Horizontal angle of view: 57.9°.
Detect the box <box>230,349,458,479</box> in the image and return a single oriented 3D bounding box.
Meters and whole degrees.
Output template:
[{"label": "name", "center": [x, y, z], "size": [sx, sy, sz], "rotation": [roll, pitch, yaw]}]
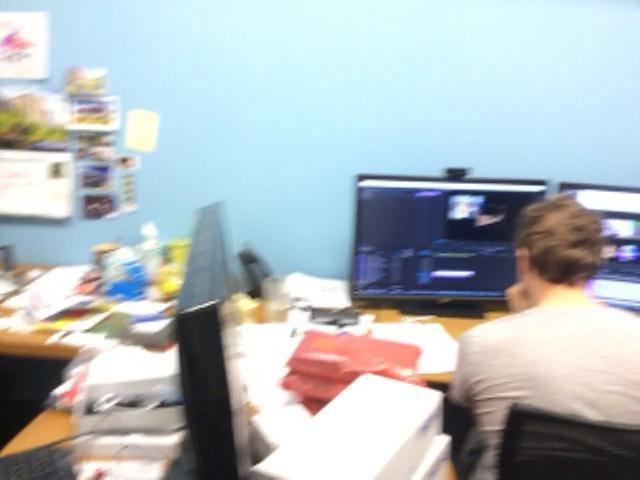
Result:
[{"label": "box", "center": [0.060, 0.380, 0.990], "size": [0.230, 0.210, 0.390], "rotation": [9, 16, 28]}]
